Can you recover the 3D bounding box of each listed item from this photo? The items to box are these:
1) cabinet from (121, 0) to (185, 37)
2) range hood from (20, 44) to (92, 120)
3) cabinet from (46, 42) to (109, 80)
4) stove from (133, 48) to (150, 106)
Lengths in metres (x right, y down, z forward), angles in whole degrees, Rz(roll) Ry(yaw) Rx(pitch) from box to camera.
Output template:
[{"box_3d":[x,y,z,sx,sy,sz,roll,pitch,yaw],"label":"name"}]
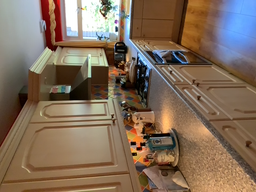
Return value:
[{"box_3d":[0.440,-2.020,3.530,0.640,0.940,1.880,-112,23,-61],"label":"cabinet"},{"box_3d":[-0.790,-0.240,2.610,1.070,0.640,0.590,-114,26,-64],"label":"range hood"},{"box_3d":[-0.840,-0.640,3.660,1.160,0.890,0.300,-112,23,-61],"label":"cabinet"},{"box_3d":[0.160,-0.270,2.750,0.680,0.020,0.530,-112,23,-61],"label":"stove"}]
